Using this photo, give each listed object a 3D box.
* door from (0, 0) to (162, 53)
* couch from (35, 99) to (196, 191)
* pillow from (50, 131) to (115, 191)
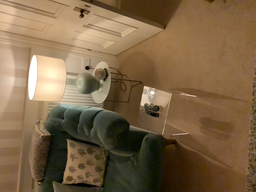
[{"bbox_3d":[-0.790,-0.690,1.740,0.830,2.160,0.060,-8,80,53],"label":"door"},{"bbox_3d":[-0.280,1.290,1.970,1.140,0.900,2.360,10,94,53],"label":"couch"},{"bbox_3d":[-0.400,0.610,1.930,0.150,0.400,0.400,3,53,57],"label":"pillow"}]
